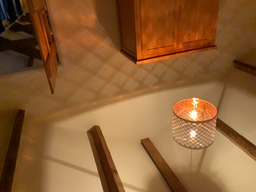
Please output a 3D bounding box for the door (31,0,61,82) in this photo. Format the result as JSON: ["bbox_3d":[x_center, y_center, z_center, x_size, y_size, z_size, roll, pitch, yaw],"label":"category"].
[{"bbox_3d":[-0.790,-1.110,1.730,0.070,1.830,0.840,-12,-151,-13],"label":"door"}]
